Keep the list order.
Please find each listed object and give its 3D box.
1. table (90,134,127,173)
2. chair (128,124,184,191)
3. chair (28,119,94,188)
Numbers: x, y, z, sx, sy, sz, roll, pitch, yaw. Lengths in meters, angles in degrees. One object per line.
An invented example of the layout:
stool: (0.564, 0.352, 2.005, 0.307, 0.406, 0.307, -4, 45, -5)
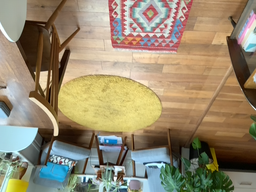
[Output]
table: (-0.300, 0.960, 3.520, 0.540, 0.460, 0.470, 3, 145, 0)
chair: (0.440, 0.990, 3.250, 0.560, 0.760, 0.770, -14, 142, 23)
chair: (-1.030, 0.930, 3.300, 0.560, 0.730, 0.870, 25, 140, -28)
